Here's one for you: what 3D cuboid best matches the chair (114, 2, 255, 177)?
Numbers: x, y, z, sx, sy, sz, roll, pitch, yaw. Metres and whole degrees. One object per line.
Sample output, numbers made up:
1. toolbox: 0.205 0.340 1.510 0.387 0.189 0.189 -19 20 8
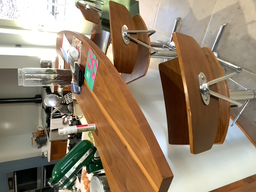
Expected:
1. chair: 0.540 -0.020 1.050 0.510 1.070 0.470 -12 82 60
